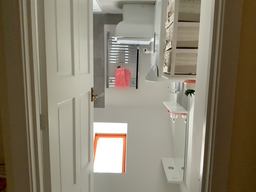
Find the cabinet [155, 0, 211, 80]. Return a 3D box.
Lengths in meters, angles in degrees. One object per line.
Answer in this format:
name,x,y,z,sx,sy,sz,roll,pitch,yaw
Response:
cabinet,0.410,-0.560,1.660,0.320,0.830,0.370,2,-171,1
